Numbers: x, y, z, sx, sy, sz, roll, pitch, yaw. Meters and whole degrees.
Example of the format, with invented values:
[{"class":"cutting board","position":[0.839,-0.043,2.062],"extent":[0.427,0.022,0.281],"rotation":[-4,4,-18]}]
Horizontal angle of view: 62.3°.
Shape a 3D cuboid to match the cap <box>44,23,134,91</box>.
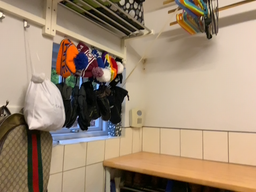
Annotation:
[{"class":"cap","position":[-0.220,-0.230,1.560],"extent":[0.130,0.300,0.790],"rotation":[-2,-6,34]}]
